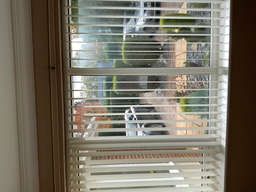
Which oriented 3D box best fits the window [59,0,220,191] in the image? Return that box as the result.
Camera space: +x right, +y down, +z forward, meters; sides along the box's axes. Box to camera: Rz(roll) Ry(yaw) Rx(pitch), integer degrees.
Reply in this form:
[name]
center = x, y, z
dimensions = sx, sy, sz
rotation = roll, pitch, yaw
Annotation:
[window]
center = 0.130, -0.240, 2.090
dimensions = 0.130, 1.520, 2.640
rotation = -142, 52, -84
